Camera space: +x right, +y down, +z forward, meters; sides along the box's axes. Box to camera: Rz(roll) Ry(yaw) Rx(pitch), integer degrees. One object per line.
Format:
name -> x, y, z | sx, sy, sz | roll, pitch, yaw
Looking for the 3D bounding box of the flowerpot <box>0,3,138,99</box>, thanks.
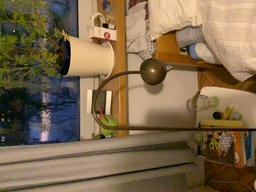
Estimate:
flowerpot -> -0.490, -0.160, 0.970 | 0.410, 0.990, 0.310 | -11, 80, 59
